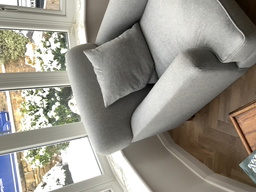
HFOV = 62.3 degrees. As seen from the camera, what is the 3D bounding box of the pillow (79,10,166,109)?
[{"bbox_3d":[-0.060,-0.250,1.430,0.090,0.440,0.540,40,-153,-64],"label":"pillow"}]
